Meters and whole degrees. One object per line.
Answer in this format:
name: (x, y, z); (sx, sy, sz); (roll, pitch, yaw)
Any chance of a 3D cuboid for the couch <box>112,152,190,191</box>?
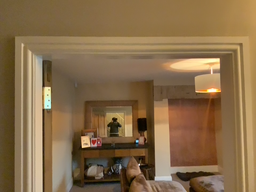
couch: (0.300, 1.420, 3.380); (1.100, 0.810, 0.880); (0, -2, -4)
